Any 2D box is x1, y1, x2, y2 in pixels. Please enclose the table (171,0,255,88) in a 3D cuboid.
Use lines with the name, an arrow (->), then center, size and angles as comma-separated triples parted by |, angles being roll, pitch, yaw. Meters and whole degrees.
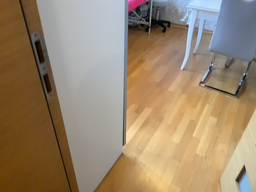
table -> 1.230, -0.680, 2.410 | 1.190, 0.770, 0.630 | 22, 42, 23
